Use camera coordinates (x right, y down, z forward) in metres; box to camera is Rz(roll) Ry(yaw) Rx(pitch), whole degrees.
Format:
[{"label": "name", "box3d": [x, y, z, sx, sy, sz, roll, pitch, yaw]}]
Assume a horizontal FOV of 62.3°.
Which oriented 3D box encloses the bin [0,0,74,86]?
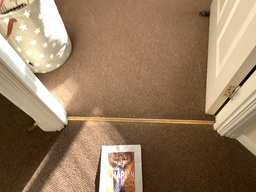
[{"label": "bin", "box3d": [-0.630, -0.410, 1.150, 0.390, 0.480, 0.390, -39, 68, -15]}]
